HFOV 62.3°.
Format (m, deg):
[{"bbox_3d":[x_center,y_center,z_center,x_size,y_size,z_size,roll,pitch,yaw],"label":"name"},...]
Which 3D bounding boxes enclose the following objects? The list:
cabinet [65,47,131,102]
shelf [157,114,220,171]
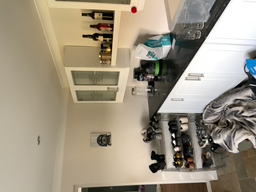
[{"bbox_3d":[-0.420,-0.250,3.010,0.980,0.770,0.290,107,162,-63],"label":"cabinet"},{"bbox_3d":[0.870,0.680,3.170,0.250,0.750,0.780,107,162,-63],"label":"shelf"}]
